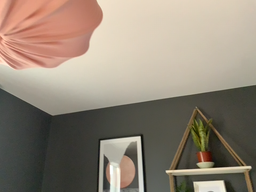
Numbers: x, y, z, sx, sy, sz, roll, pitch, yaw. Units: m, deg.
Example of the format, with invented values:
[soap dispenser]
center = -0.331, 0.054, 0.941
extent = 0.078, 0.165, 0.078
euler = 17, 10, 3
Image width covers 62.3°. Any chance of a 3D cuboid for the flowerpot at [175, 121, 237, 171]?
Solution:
[flowerpot]
center = 0.700, 0.470, 1.950
extent = 0.460, 0.390, 0.150
euler = -10, -27, 19
